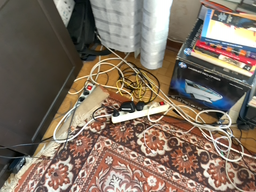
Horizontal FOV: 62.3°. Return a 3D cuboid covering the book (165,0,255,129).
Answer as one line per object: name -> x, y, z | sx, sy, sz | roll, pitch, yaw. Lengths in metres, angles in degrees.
book -> 0.420, -0.290, 0.910 | 0.260, 0.590, 0.670 | 20, 68, 13
